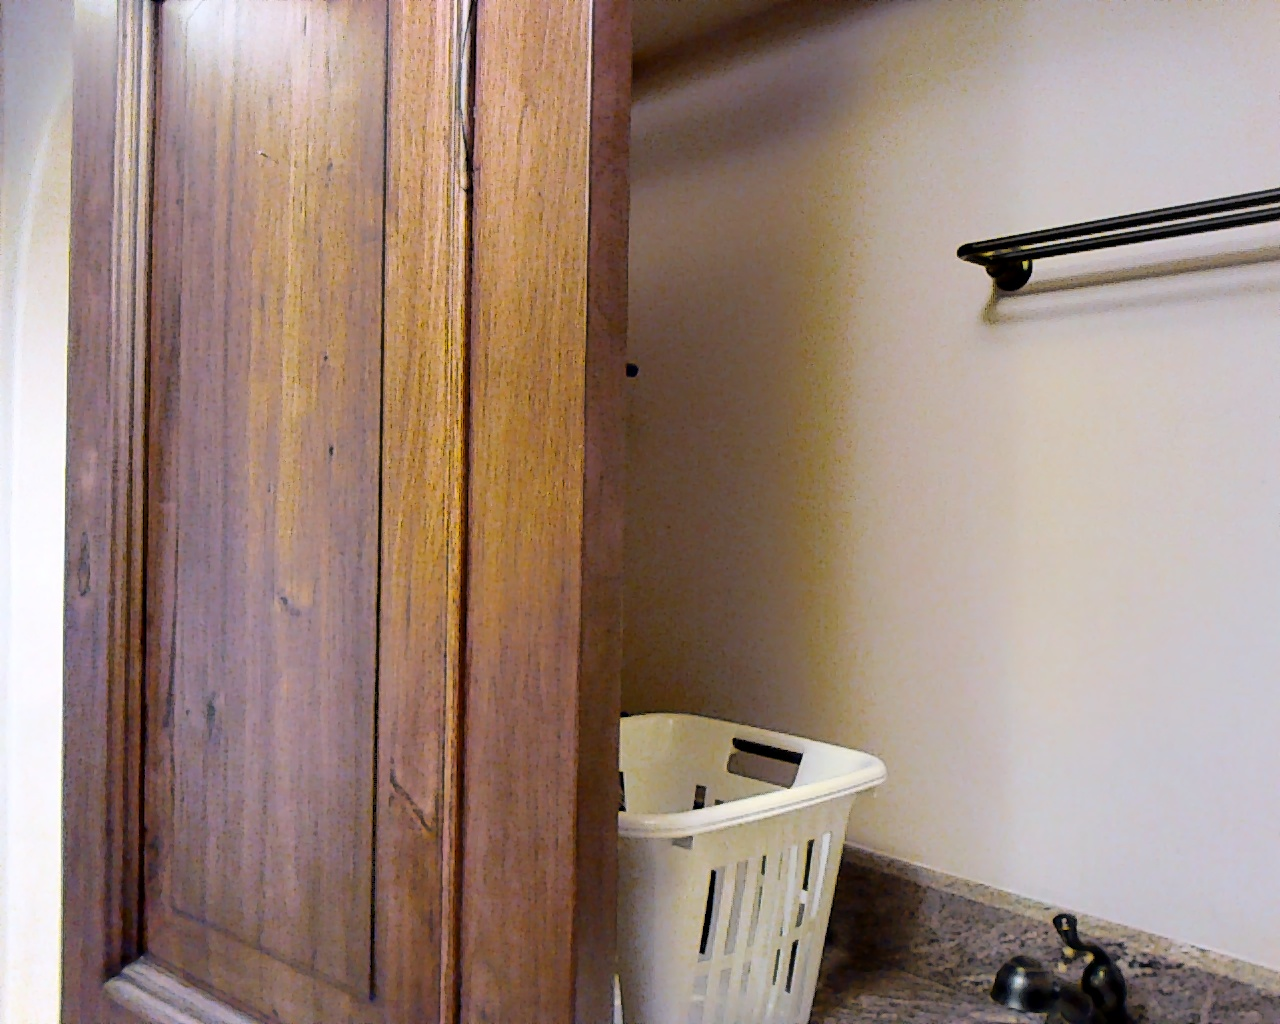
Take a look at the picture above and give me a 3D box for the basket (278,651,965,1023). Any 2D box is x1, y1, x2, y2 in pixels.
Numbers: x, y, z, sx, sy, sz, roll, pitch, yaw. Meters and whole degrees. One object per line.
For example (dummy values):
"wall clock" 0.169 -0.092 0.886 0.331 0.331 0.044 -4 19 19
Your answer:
"basket" -0.050 0.440 1.500 0.590 0.360 0.770 1 0 -44

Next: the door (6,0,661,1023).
"door" -0.400 0.320 1.110 0.950 2.450 0.070 1 0 37
